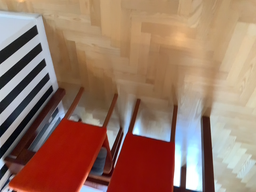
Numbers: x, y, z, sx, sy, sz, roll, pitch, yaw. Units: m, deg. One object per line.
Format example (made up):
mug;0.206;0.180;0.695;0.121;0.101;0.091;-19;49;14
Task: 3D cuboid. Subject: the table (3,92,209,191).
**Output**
table;-0.110;0.680;1.920;1.350;0.790;0.920;11;132;8
